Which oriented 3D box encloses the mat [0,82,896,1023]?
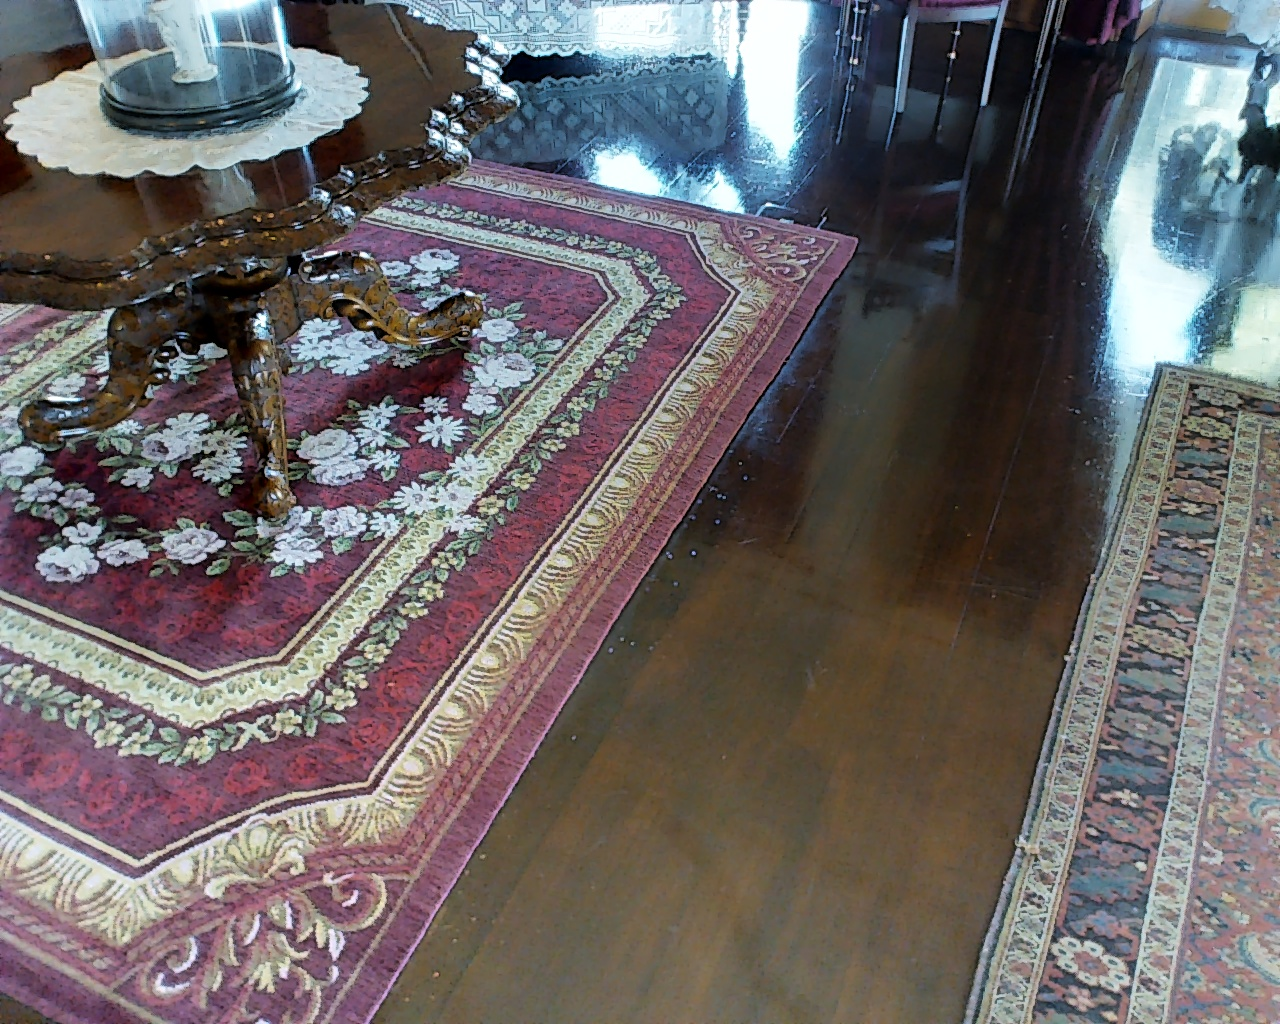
[{"bbox_3d":[-0.850,-0.370,2.680,2.250,0.070,2.850,17,45,19],"label":"mat"}]
